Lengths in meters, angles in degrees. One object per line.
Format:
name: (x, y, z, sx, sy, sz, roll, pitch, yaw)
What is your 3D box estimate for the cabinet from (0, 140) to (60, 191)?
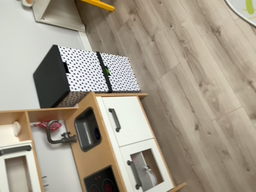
cabinet: (-0.540, 0.440, 1.070, 0.160, 0.290, 0.350, -37, 66, 38)

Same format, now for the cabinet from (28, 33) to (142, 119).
cabinet: (-0.300, -0.120, 1.560, 0.380, 0.640, 0.390, -37, 66, 38)

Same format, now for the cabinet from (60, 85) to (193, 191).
cabinet: (-0.030, 0.340, 1.410, 0.460, 0.510, 0.680, -37, 66, 38)
